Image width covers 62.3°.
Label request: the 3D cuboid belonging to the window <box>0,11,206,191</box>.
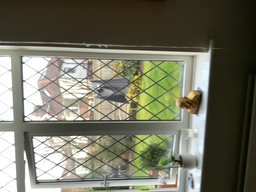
[{"bbox_3d":[-0.250,0.380,1.520,0.380,1.360,1.750,-126,37,-79],"label":"window"}]
